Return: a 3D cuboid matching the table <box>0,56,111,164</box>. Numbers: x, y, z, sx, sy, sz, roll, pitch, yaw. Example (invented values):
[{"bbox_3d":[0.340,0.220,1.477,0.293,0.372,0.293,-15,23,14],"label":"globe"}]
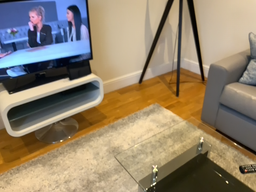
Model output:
[{"bbox_3d":[-0.670,0.060,1.910,0.860,0.540,0.520,-21,36,-31],"label":"table"}]
